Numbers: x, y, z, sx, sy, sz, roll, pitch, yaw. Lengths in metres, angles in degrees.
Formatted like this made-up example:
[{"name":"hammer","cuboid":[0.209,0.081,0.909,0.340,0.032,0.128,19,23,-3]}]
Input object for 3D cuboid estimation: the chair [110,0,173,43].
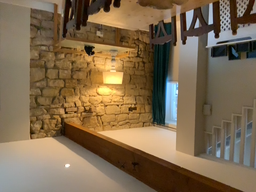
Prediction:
[{"name":"chair","cuboid":[0.140,-1.100,2.190,0.460,0.960,0.460,-2,-175,-39]}]
